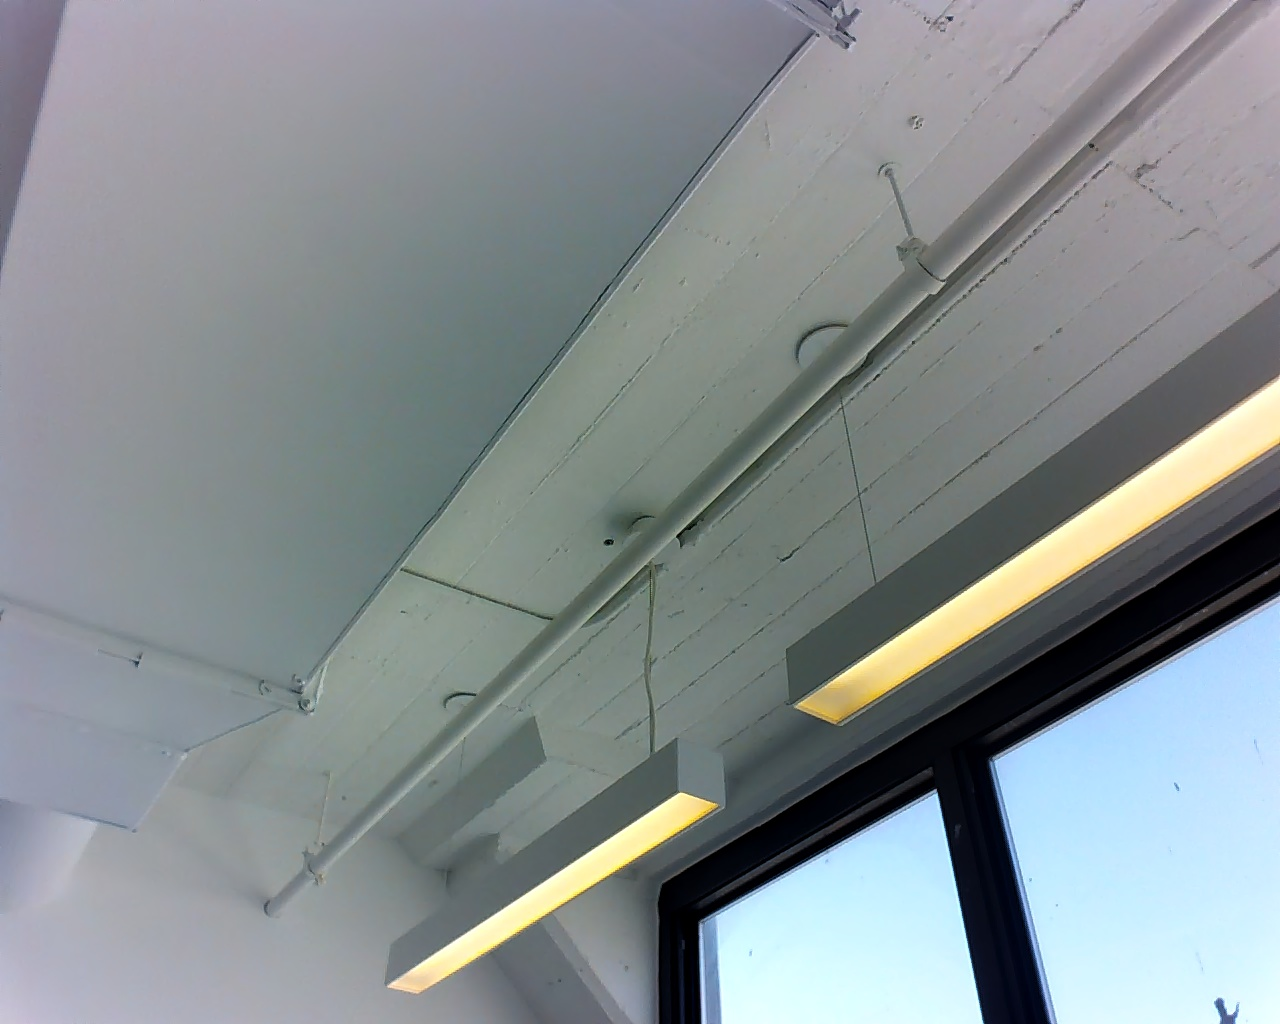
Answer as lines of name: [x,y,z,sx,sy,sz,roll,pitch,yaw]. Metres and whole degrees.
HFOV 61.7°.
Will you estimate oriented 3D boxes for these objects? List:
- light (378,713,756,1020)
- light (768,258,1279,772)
light: [-0.210,0.791,2.230,0.170,0.160,1.240,24,-48,-23]
light: [0.640,-0.050,1.280,0.200,0.140,1.300,24,-48,-23]
